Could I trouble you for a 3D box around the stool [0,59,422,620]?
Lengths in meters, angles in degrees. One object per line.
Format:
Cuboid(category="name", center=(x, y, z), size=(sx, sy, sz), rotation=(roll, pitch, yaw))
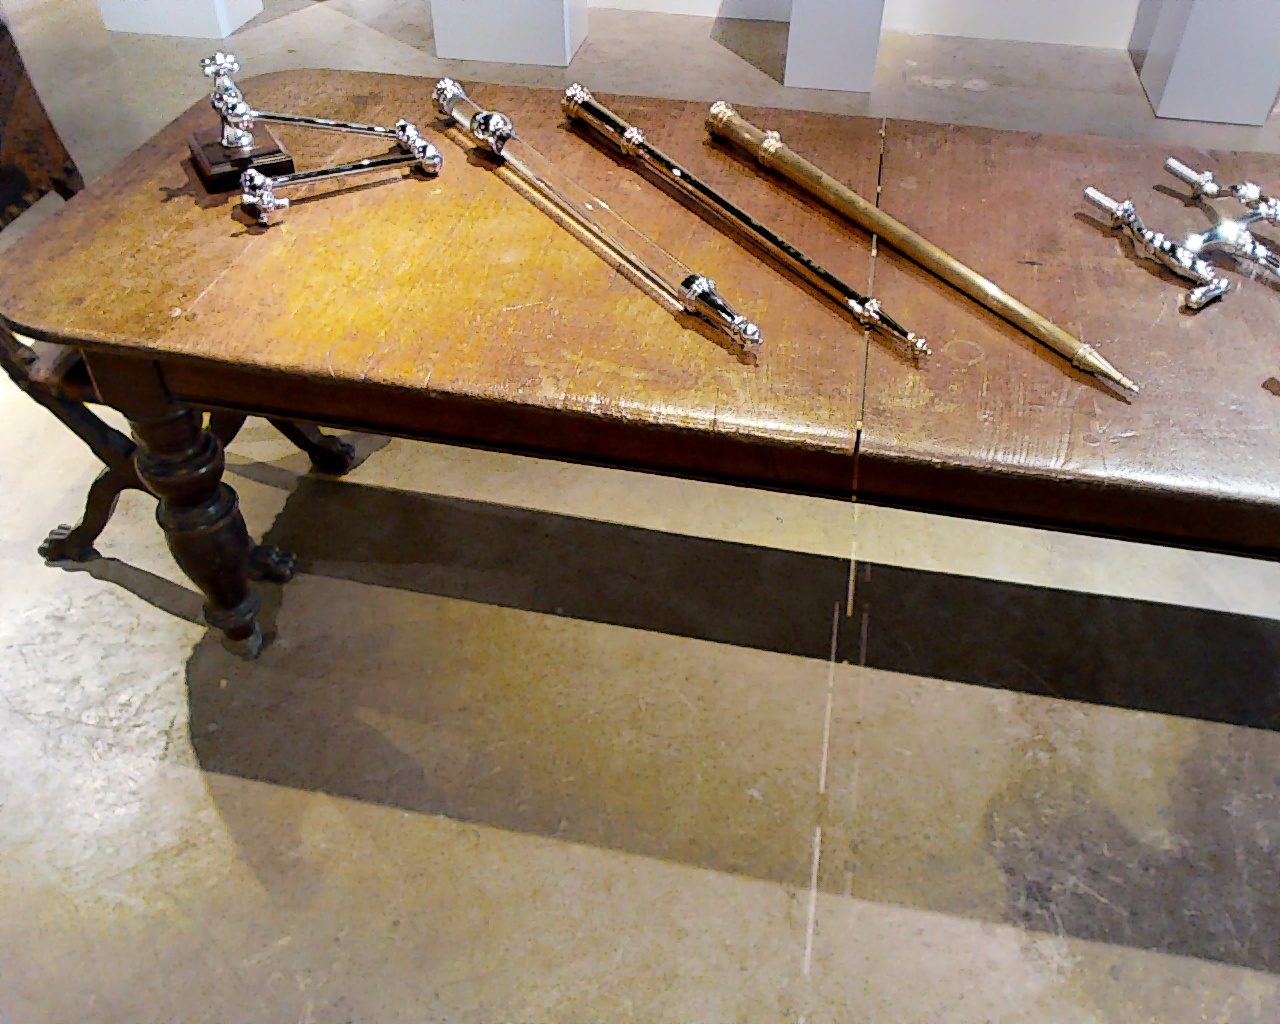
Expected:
Cuboid(category="stool", center=(-0.820, -0.300, 1.930), size=(0.610, 0.780, 0.510), rotation=(8, 43, 8))
